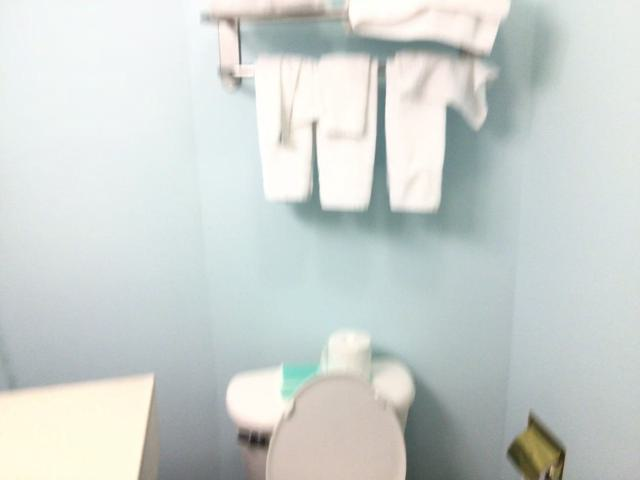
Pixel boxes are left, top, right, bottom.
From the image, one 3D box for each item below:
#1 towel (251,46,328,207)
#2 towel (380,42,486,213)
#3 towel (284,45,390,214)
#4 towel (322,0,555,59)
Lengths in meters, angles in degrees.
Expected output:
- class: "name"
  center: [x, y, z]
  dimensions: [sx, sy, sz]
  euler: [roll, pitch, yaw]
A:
- class: "towel"
  center: [-0.070, -0.260, 1.330]
  dimensions: [0.140, 0.340, 0.130]
  euler: [-5, 16, -11]
- class: "towel"
  center: [0.250, -0.250, 1.310]
  dimensions: [0.220, 0.360, 0.110]
  euler: [0, 15, 8]
- class: "towel"
  center: [0.040, -0.250, 1.310]
  dimensions: [0.210, 0.350, 0.110]
  euler: [-5, 16, -11]
- class: "towel"
  center: [0.230, -0.530, 1.240]
  dimensions: [0.390, 0.240, 0.340]
  euler: [-5, 16, -11]
